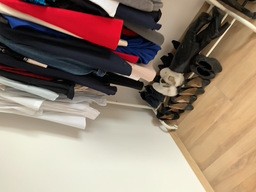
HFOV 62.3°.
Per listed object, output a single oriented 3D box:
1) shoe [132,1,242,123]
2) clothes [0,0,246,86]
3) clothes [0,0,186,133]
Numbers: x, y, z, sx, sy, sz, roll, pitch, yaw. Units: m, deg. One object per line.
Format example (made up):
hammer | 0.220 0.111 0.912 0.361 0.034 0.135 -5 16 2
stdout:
shoe | 0.420 -0.260 1.830 0.890 0.180 0.530 -56 44 31
clothes | -0.050 -0.520 1.160 0.490 1.250 0.610 -57 43 30
clothes | -0.310 -0.160 1.390 0.430 1.200 0.660 -57 43 30
